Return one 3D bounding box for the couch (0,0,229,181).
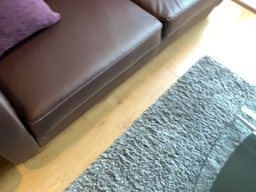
[{"bbox_3d":[-0.070,-0.610,1.180,0.790,0.840,1.860,40,62,17],"label":"couch"}]
